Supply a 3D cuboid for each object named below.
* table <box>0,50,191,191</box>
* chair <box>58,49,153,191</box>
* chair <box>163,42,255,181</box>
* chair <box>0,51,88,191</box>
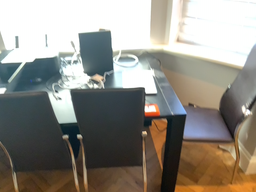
[{"bbox_3d":[-0.480,0.190,1.780,1.560,0.740,1.150,-3,32,-4],"label":"table"},{"bbox_3d":[-0.110,0.260,1.420,0.420,0.990,0.540,-2,32,-3],"label":"chair"},{"bbox_3d":[0.600,0.140,1.610,0.540,0.990,0.420,1,32,2],"label":"chair"},{"bbox_3d":[-0.540,0.280,1.390,0.420,0.990,0.540,-4,32,-5],"label":"chair"}]
